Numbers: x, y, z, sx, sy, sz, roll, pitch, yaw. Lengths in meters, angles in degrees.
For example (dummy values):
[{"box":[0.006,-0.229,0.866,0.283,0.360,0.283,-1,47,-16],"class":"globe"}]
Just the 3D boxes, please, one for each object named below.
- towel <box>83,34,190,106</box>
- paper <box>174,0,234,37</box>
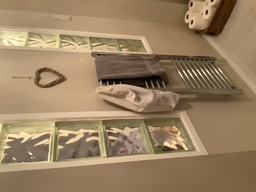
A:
[{"box":[0.020,-0.180,1.390,0.150,0.580,0.520,106,158,-43],"class":"towel"},{"box":[0.740,-0.870,2.140,0.360,0.340,0.380,-107,23,-45],"class":"paper"}]
